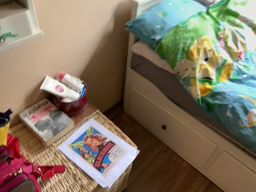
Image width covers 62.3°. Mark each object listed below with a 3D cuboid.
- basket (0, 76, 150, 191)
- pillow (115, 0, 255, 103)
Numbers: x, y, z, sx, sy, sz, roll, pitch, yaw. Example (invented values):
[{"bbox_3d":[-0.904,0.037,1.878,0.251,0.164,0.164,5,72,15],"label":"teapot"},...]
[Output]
[{"bbox_3d":[-0.440,0.430,0.950,0.550,0.500,0.910,37,53,26],"label":"basket"},{"bbox_3d":[0.500,-0.460,1.230,0.640,0.240,0.970,37,53,26],"label":"pillow"}]
